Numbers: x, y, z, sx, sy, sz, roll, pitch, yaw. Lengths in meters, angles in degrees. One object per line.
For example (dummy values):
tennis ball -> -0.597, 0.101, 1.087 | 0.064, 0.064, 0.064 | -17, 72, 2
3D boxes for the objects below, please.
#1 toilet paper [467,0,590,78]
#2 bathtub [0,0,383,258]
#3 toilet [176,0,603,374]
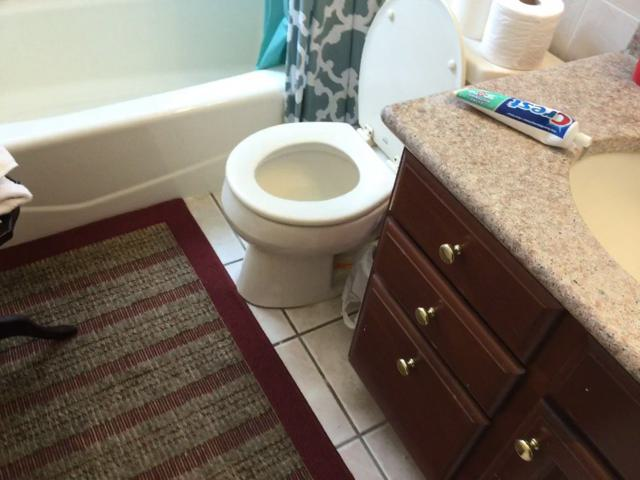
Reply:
toilet paper -> 0.410, -0.420, 1.150 | 0.160, 0.110, 0.130 | -19, 53, -24
bathtub -> -0.640, -0.460, 1.820 | 1.450, 0.350, 0.760 | -19, 53, -24
toilet -> 0.090, -0.200, 1.400 | 0.690, 0.780, 0.480 | -19, 53, -24
